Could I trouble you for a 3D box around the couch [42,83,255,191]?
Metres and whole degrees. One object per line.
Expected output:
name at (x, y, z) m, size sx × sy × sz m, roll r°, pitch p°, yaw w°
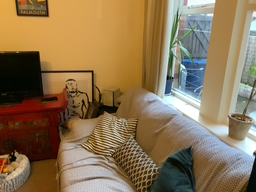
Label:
couch at (-0.070, 0.550, 1.750) m, size 1.030 × 0.820 × 1.720 m, roll -6°, pitch 21°, yaw -24°
